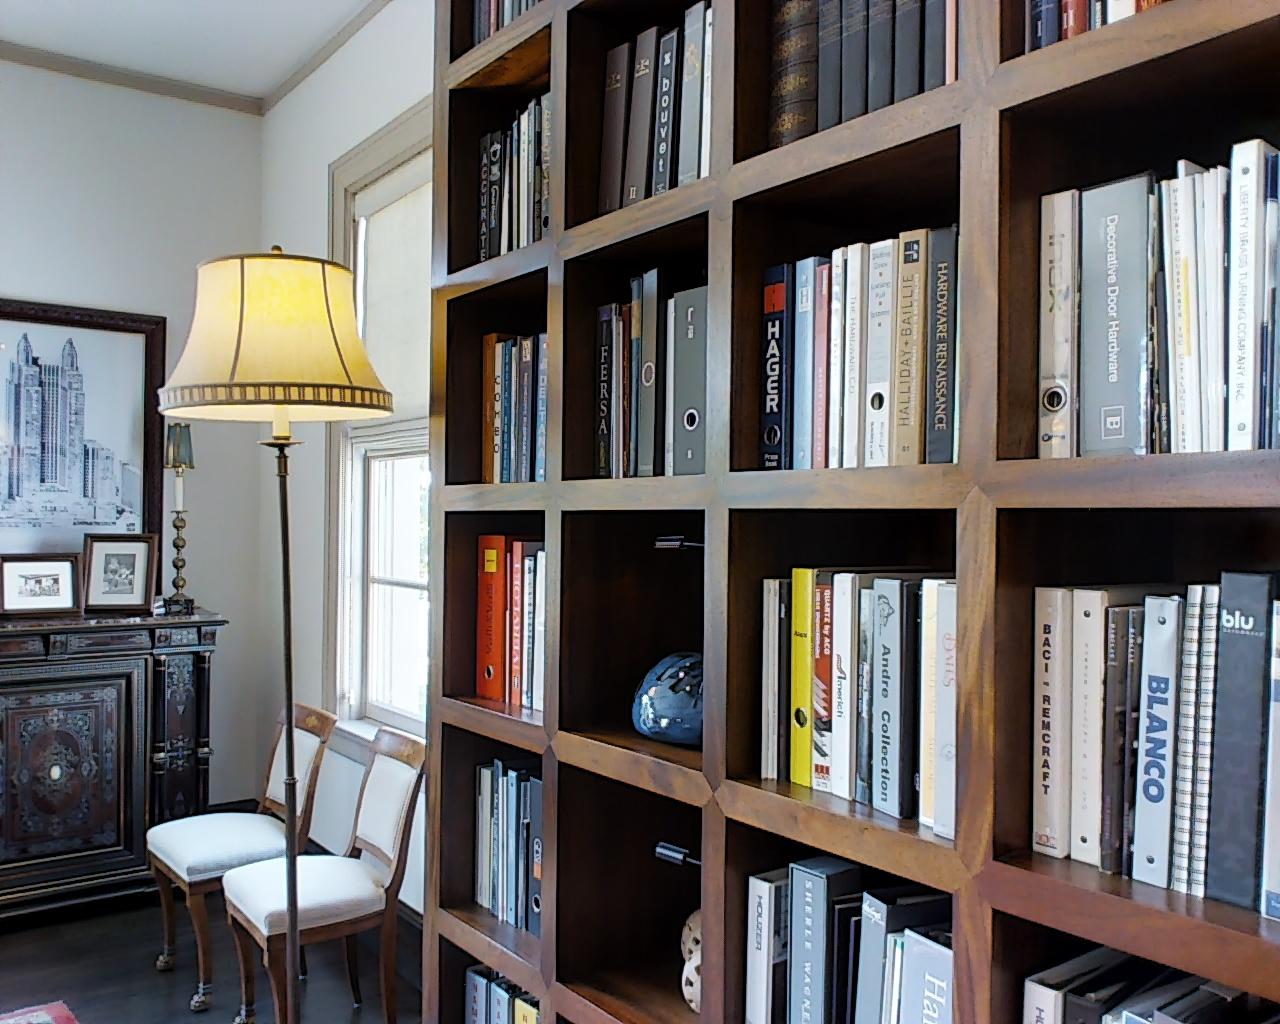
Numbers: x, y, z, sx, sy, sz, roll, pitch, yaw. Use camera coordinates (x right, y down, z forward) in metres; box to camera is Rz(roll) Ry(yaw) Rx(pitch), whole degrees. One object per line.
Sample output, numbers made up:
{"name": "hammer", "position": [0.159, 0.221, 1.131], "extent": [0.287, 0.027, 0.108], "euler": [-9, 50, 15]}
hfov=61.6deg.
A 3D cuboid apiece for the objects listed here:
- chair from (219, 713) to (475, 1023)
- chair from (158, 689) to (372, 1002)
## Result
{"name": "chair", "position": [-0.850, 1.070, 3.110], "extent": [0.590, 0.850, 0.440], "euler": [1, 0, -36]}
{"name": "chair", "position": [-1.240, 1.050, 3.540], "extent": [0.550, 0.820, 0.450], "euler": [1, 0, -36]}
